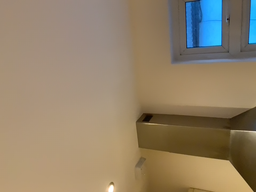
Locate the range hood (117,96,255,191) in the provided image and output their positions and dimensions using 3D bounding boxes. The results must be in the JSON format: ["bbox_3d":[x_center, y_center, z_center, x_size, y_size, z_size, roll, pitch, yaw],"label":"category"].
[{"bbox_3d":[0.490,0.460,1.390,0.450,0.930,0.790,-38,-54,-59],"label":"range hood"}]
